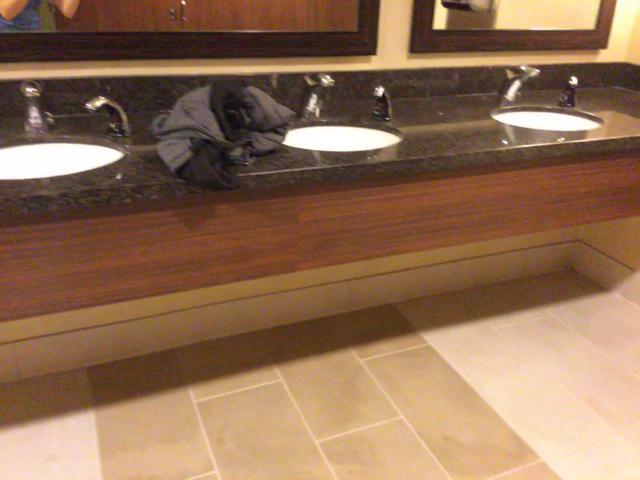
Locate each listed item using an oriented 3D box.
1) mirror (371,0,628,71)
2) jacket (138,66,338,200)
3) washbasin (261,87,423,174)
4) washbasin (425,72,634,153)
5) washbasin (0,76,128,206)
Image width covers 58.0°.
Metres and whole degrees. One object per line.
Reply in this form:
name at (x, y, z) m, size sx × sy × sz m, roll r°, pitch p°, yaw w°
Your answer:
mirror at (0.700, -1.060, 1.980) m, size 0.980 × 0.860 × 0.130 m, roll -3°, pitch 25°, yaw -22°
jacket at (-0.210, -0.260, 1.360) m, size 0.380 × 0.220 × 0.340 m, roll -3°, pitch 25°, yaw -22°
washbasin at (0.050, -0.340, 1.760) m, size 0.360 × 0.170 × 0.370 m, roll -3°, pitch 25°, yaw -22°
washbasin at (0.700, -0.440, 1.980) m, size 0.530 × 0.180 × 0.380 m, roll -3°, pitch 25°, yaw -22°
washbasin at (-0.690, -0.250, 1.420) m, size 0.390 × 0.250 × 0.270 m, roll -3°, pitch 25°, yaw -22°
